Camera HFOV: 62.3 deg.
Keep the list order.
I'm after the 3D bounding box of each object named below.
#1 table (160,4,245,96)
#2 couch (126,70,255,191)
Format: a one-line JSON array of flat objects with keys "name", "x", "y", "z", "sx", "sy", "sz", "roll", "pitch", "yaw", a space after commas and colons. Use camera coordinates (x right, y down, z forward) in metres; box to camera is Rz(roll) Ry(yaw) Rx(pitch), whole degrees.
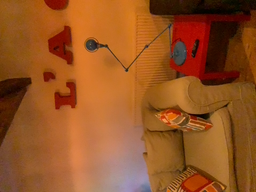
[{"name": "table", "x": 0.690, "y": -0.500, "z": 2.200, "sx": 0.770, "sy": 0.370, "sz": 0.770, "roll": -131, "pitch": 39, "yaw": -64}, {"name": "couch", "x": 0.580, "y": 0.540, "z": 2.140, "sx": 1.110, "sy": 0.810, "sz": 1.370, "roll": 165, "pitch": 100, "yaw": -74}]
